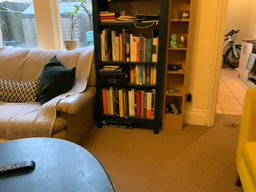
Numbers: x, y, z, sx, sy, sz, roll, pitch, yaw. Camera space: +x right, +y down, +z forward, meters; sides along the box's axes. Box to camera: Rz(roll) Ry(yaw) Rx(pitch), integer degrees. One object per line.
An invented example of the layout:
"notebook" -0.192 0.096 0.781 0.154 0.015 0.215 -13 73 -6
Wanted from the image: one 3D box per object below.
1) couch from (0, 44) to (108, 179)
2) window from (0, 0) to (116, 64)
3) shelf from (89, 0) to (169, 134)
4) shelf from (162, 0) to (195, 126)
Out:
"couch" -1.160 -0.020 1.990 1.680 0.820 1.040 3 19 11
"window" -1.150 -1.440 2.530 1.900 1.980 0.490 4 19 12
"shelf" 0.030 -0.600 2.020 0.670 1.890 0.380 4 19 12
"shelf" 0.490 -0.610 2.040 0.230 1.890 0.140 4 19 12
